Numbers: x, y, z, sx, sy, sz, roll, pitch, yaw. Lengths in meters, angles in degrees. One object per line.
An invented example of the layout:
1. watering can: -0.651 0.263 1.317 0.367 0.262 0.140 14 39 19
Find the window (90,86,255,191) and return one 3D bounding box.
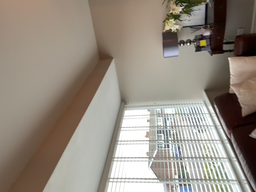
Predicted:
1. window: 0.520 0.680 2.750 2.710 1.620 0.320 -78 -19 -60
